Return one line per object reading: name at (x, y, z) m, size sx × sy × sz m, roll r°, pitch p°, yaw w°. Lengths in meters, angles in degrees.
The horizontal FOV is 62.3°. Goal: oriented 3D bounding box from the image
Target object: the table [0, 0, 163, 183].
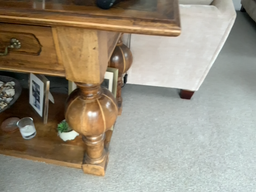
table at (-0.760, -0.170, 1.010) m, size 1.740 × 0.750 × 0.540 m, roll 7°, pitch 40°, yaw 5°
